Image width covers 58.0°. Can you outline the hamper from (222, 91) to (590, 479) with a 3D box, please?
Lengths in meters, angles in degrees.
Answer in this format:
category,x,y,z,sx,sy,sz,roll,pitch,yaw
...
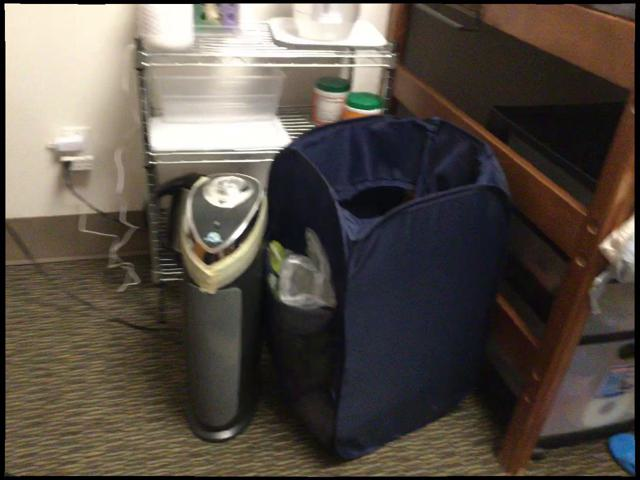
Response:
category,x,y,z,sx,sy,sz,roll,pitch,yaw
hamper,0.120,0.090,1.300,0.529,0.651,0.490,-13,39,-26
